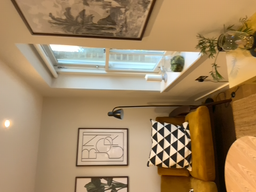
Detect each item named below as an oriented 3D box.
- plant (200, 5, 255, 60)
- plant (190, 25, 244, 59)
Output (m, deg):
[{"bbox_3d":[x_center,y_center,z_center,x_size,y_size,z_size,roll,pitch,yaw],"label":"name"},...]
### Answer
[{"bbox_3d":[0.570,-0.320,1.110,0.180,0.310,0.200,124,147,-78],"label":"plant"},{"bbox_3d":[0.560,-0.340,1.360,0.180,0.250,0.130,121,150,-76],"label":"plant"}]
